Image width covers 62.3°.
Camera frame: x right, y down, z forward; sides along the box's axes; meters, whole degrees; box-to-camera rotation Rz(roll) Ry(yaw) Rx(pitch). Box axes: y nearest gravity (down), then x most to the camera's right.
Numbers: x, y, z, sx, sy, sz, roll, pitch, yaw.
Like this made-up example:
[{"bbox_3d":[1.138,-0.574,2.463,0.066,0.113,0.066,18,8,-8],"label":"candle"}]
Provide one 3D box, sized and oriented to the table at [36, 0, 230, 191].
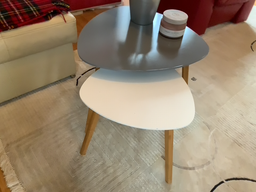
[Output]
[{"bbox_3d":[0.050,-0.060,1.040,0.560,0.470,0.770,10,46,3],"label":"table"}]
